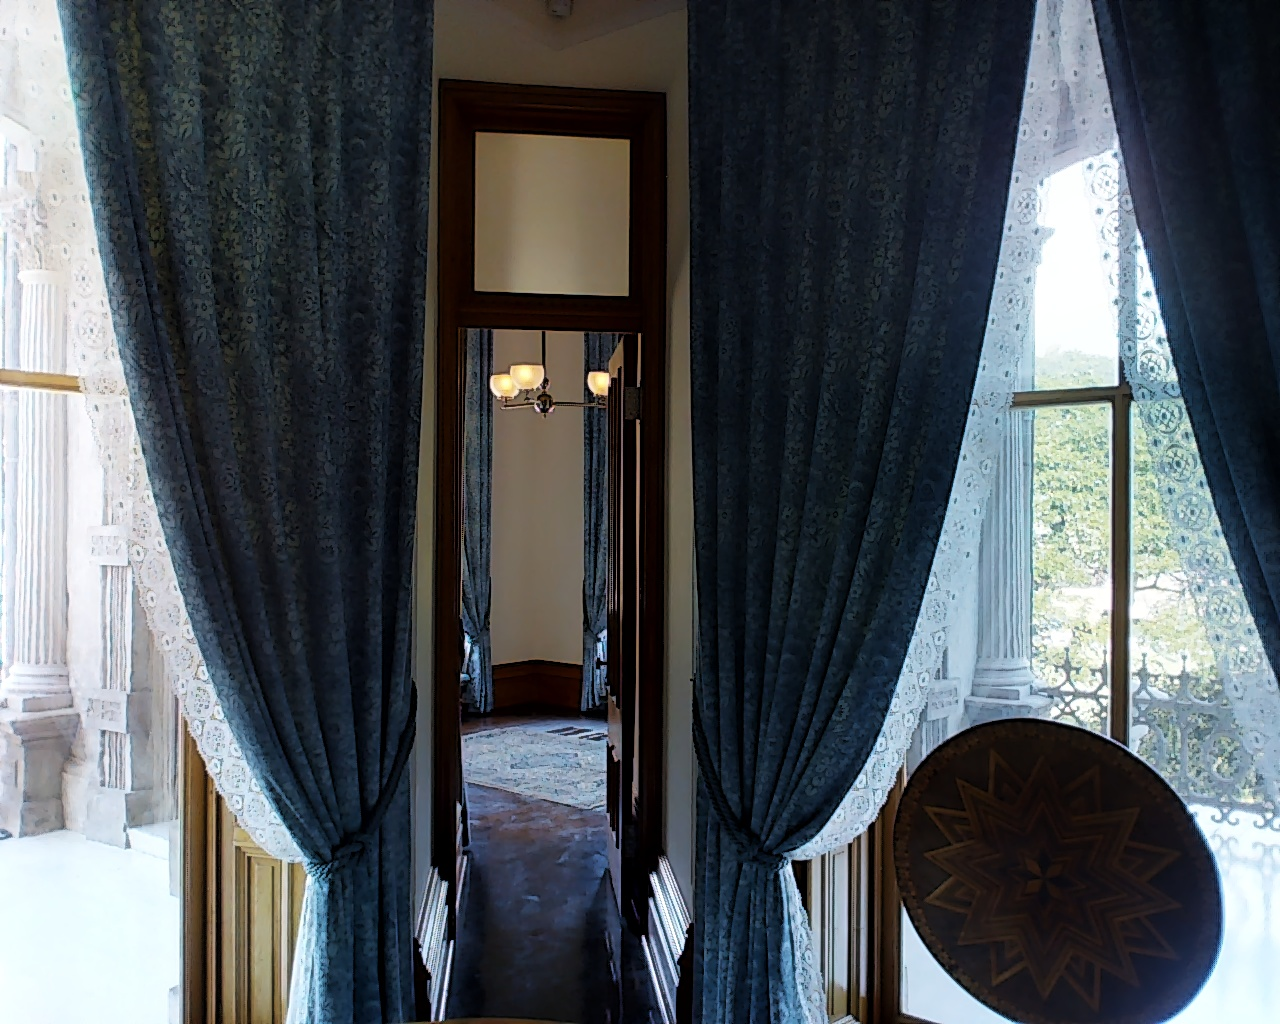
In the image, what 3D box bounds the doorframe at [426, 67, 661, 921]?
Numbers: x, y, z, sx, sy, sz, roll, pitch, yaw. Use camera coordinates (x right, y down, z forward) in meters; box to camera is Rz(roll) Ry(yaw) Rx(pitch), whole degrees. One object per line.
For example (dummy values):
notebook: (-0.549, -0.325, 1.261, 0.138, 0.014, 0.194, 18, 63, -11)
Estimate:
doorframe: (-0.370, -0.060, 4.130, 0.850, 3.130, 0.290, 0, 0, -6)
